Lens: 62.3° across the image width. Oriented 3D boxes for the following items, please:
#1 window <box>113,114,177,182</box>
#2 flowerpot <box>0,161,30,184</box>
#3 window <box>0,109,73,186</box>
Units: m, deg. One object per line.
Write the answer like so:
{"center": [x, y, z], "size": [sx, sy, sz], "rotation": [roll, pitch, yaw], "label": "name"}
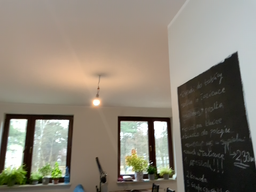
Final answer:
{"center": [0.380, 1.230, 5.150], "size": [1.420, 1.480, 0.510], "rotation": [2, -14, -10], "label": "window"}
{"center": [-2.410, 1.560, 4.360], "size": [0.610, 0.420, 0.330], "rotation": [1, -14, -6], "label": "flowerpot"}
{"center": [-2.050, 1.090, 4.600], "size": [1.570, 1.530, 0.230], "rotation": [3, -14, -14], "label": "window"}
